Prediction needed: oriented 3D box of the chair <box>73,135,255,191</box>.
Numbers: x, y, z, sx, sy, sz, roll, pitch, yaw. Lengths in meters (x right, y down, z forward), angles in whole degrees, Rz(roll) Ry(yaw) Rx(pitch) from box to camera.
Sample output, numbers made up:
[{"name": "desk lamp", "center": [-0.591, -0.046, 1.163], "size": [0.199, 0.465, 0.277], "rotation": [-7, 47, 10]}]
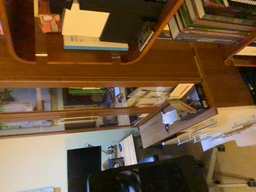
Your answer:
[{"name": "chair", "center": [0.290, 0.780, 1.660], "size": [0.700, 1.270, 0.660], "rotation": [128, 136, -57]}]

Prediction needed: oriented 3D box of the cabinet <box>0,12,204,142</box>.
[{"name": "cabinet", "center": [-0.340, -0.010, 1.350], "size": [0.990, 1.160, 0.310], "rotation": [131, 133, -59]}]
